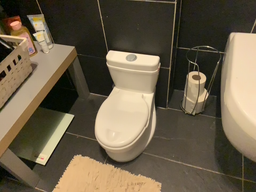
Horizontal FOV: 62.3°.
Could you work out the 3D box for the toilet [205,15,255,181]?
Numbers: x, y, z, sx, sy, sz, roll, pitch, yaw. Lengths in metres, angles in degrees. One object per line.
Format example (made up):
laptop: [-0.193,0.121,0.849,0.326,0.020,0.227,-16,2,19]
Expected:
toilet: [0.540,0.000,0.770,0.410,0.300,0.540,10,51,14]

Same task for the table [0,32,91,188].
table: [-0.510,0.040,1.050,0.360,0.390,0.600,11,51,15]

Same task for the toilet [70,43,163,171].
toilet: [-0.010,0.050,0.990,0.260,0.400,0.400,10,51,14]
